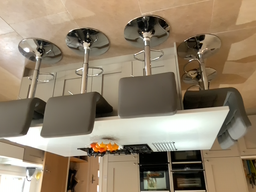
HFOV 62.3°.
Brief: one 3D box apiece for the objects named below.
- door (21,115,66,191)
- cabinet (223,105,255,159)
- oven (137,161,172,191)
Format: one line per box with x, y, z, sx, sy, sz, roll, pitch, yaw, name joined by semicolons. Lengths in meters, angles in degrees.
-1.700;1.600;4.320;0.170;2.160;1.130;-4;156;8;door
2.210;0.700;4.020;0.520;0.880;0.570;-6;155;12;cabinet
0.510;1.610;4.060;0.580;0.600;0.560;-6;155;12;oven
